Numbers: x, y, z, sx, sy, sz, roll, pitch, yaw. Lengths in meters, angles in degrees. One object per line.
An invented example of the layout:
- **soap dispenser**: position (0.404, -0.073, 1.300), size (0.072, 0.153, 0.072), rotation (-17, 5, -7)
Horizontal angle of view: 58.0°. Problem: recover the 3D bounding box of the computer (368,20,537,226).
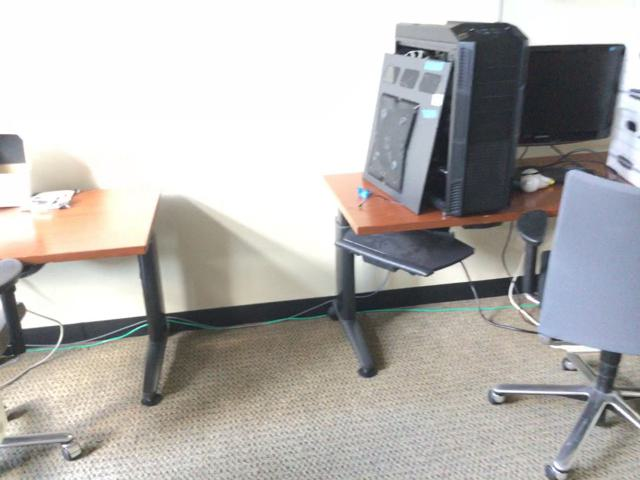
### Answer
- **computer**: position (0.410, -0.430, 2.010), size (0.350, 0.590, 0.600), rotation (-4, 19, -8)
